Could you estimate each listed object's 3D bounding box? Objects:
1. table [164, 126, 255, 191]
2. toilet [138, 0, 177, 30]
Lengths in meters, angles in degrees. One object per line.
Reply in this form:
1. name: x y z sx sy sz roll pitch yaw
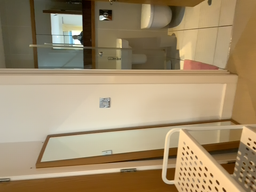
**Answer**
1. table: 0.690 0.430 0.900 0.660 0.850 0.360 -125 36 -70
2. toilet: 0.400 -1.170 3.060 0.560 0.380 0.380 -128 39 -72
